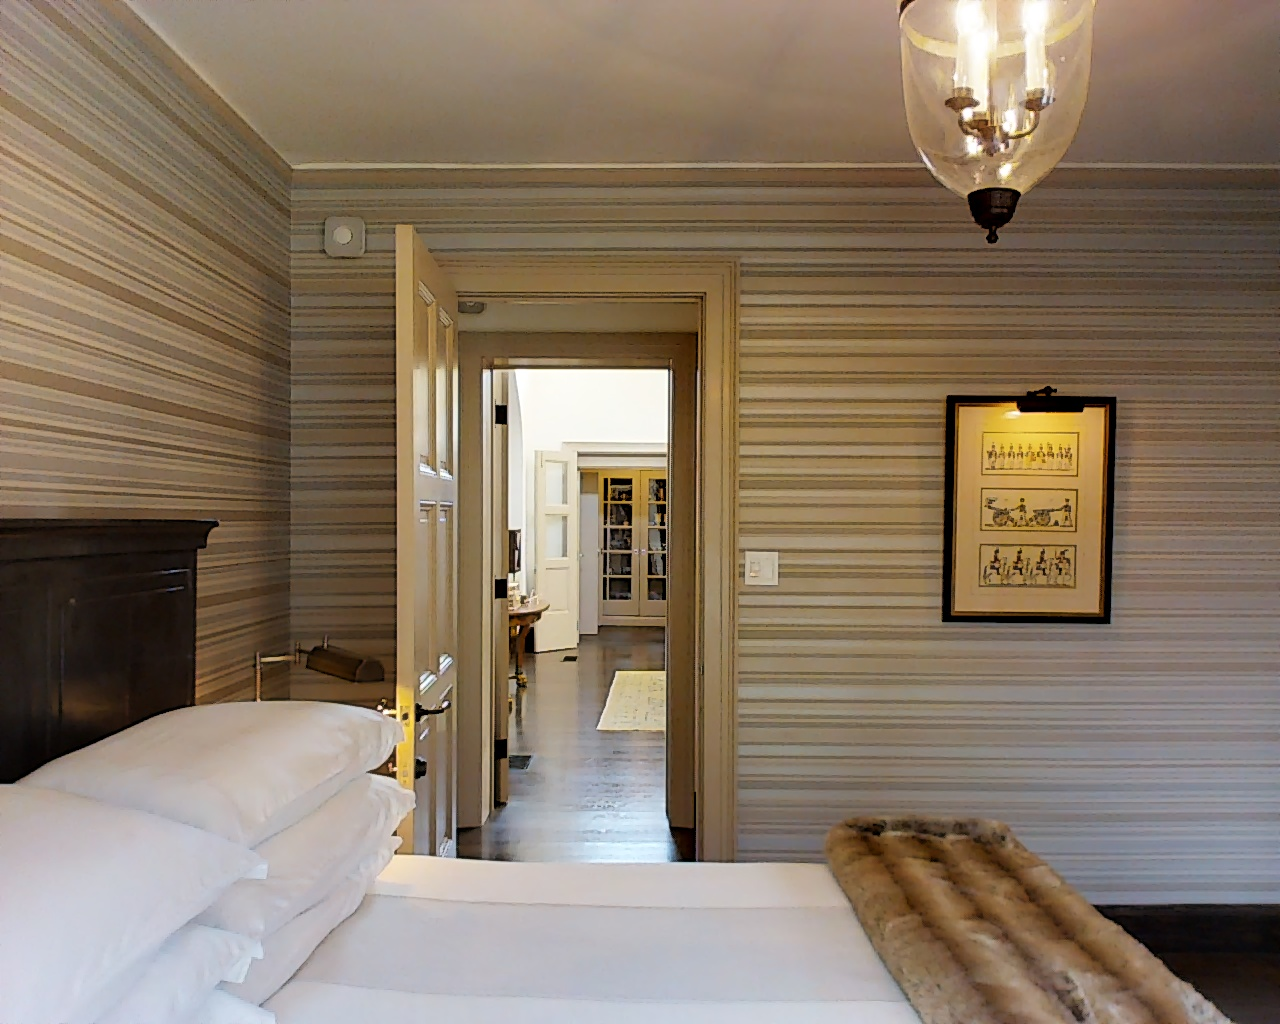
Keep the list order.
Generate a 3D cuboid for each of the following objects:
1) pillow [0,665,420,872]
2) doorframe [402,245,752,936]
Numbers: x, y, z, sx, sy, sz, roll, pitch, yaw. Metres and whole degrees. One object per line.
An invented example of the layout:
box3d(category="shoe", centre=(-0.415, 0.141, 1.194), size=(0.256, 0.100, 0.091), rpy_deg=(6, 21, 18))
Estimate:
box3d(category="pillow", centre=(-0.720, 0.430, 1.970), size=(0.440, 0.180, 0.830), rpy_deg=(1, 0, 2))
box3d(category="doorframe", centre=(-0.220, 0.270, 3.840), size=(1.200, 2.400, 0.180), rpy_deg=(1, 0, 1))
